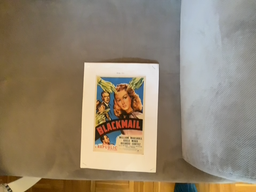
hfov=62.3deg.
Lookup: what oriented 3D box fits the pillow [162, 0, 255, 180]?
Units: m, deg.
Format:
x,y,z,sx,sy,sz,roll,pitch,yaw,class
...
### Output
x,y,z,sx,sy,sz,roll,pitch,yaw,class
0.200,-0.070,0.490,0.220,0.200,0.450,2,83,6,pillow
